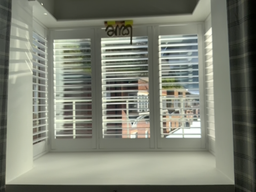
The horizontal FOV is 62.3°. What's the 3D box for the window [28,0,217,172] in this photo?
[{"bbox_3d":[-0.090,-0.440,2.190,1.800,2.330,0.270,-1,179,5],"label":"window"}]
